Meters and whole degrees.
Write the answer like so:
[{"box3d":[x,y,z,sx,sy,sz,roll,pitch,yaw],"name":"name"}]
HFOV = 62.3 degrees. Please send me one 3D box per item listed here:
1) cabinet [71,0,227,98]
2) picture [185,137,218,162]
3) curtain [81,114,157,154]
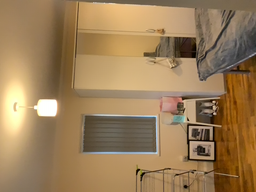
[{"box3d":[0.320,-0.730,3.410,0.600,2.240,1.380,119,153,-80],"name":"cabinet"},{"box3d":[1.200,0.870,3.480,0.190,0.400,0.310,110,149,-79],"name":"picture"},{"box3d":[-0.130,0.630,3.520,0.010,1.240,0.620,123,149,-81],"name":"curtain"}]
